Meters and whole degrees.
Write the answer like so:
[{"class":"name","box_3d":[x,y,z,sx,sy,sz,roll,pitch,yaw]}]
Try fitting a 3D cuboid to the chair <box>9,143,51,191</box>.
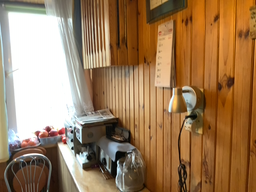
[{"class":"chair","box_3d":[-0.940,0.910,2.080,0.330,0.830,0.140,-3,6,-23]}]
